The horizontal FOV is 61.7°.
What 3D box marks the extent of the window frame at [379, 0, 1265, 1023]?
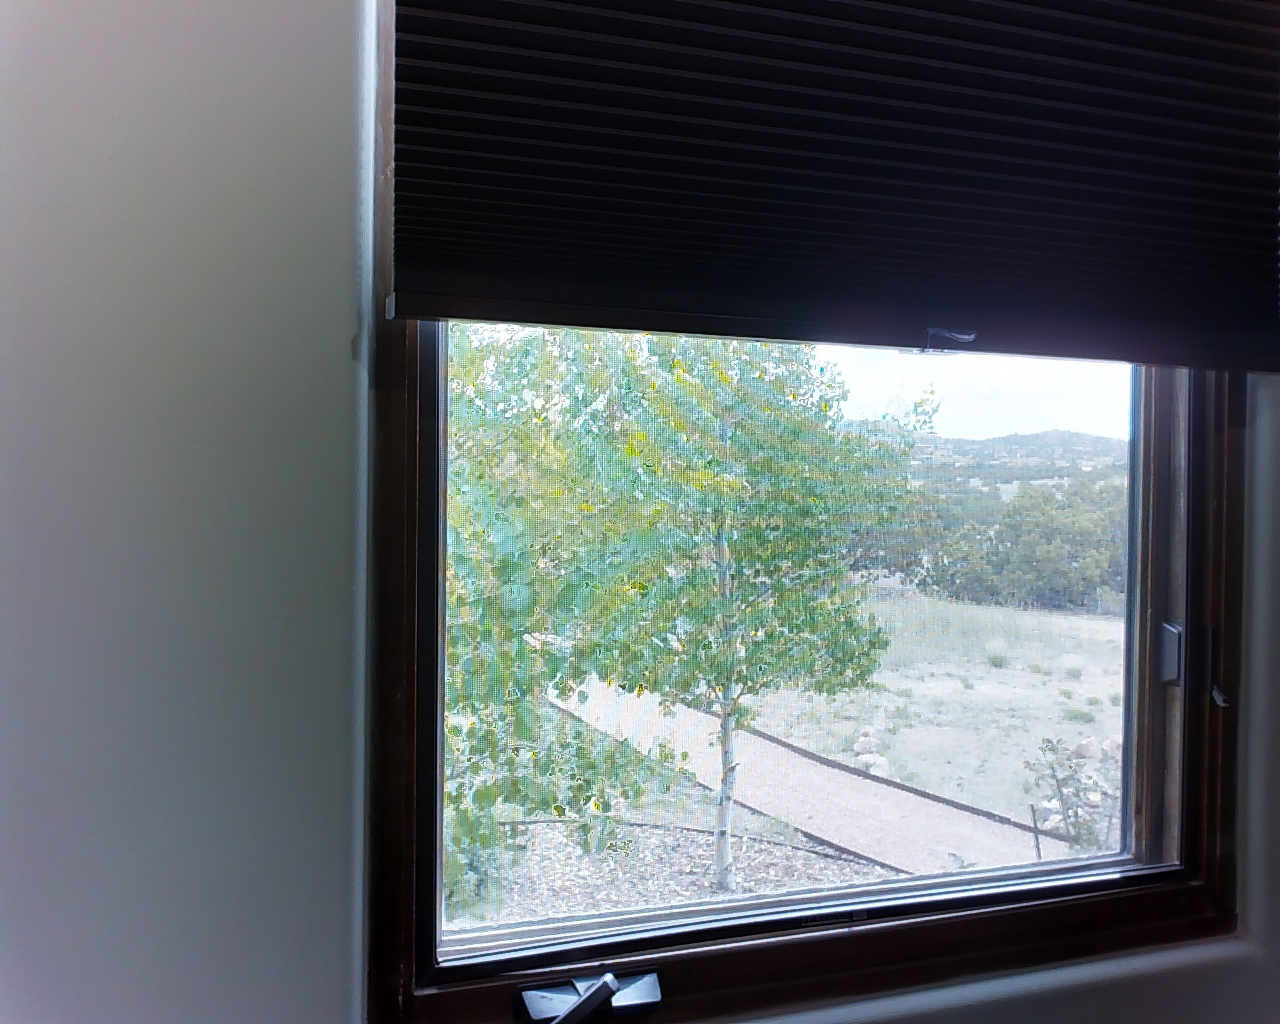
[{"bbox_3d":[0.210,-0.160,0.990,0.870,1.200,0.080,0,1,-19],"label":"window frame"}]
